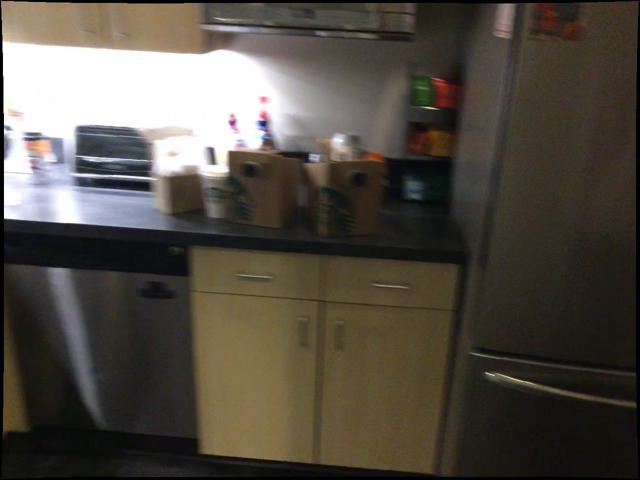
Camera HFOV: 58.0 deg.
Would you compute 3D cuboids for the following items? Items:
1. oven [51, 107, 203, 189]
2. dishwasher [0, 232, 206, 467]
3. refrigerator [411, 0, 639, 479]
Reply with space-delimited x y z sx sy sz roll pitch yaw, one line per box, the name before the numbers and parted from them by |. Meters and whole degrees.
oven | -0.658 -0.331 2.030 0.409 0.210 0.280 2 24 4
dishwasher | -0.738 0.371 1.850 0.678 0.812 0.070 2 24 4
refrigerator | 0.838 -0.050 1.690 0.948 1.743 0.960 2 24 4
